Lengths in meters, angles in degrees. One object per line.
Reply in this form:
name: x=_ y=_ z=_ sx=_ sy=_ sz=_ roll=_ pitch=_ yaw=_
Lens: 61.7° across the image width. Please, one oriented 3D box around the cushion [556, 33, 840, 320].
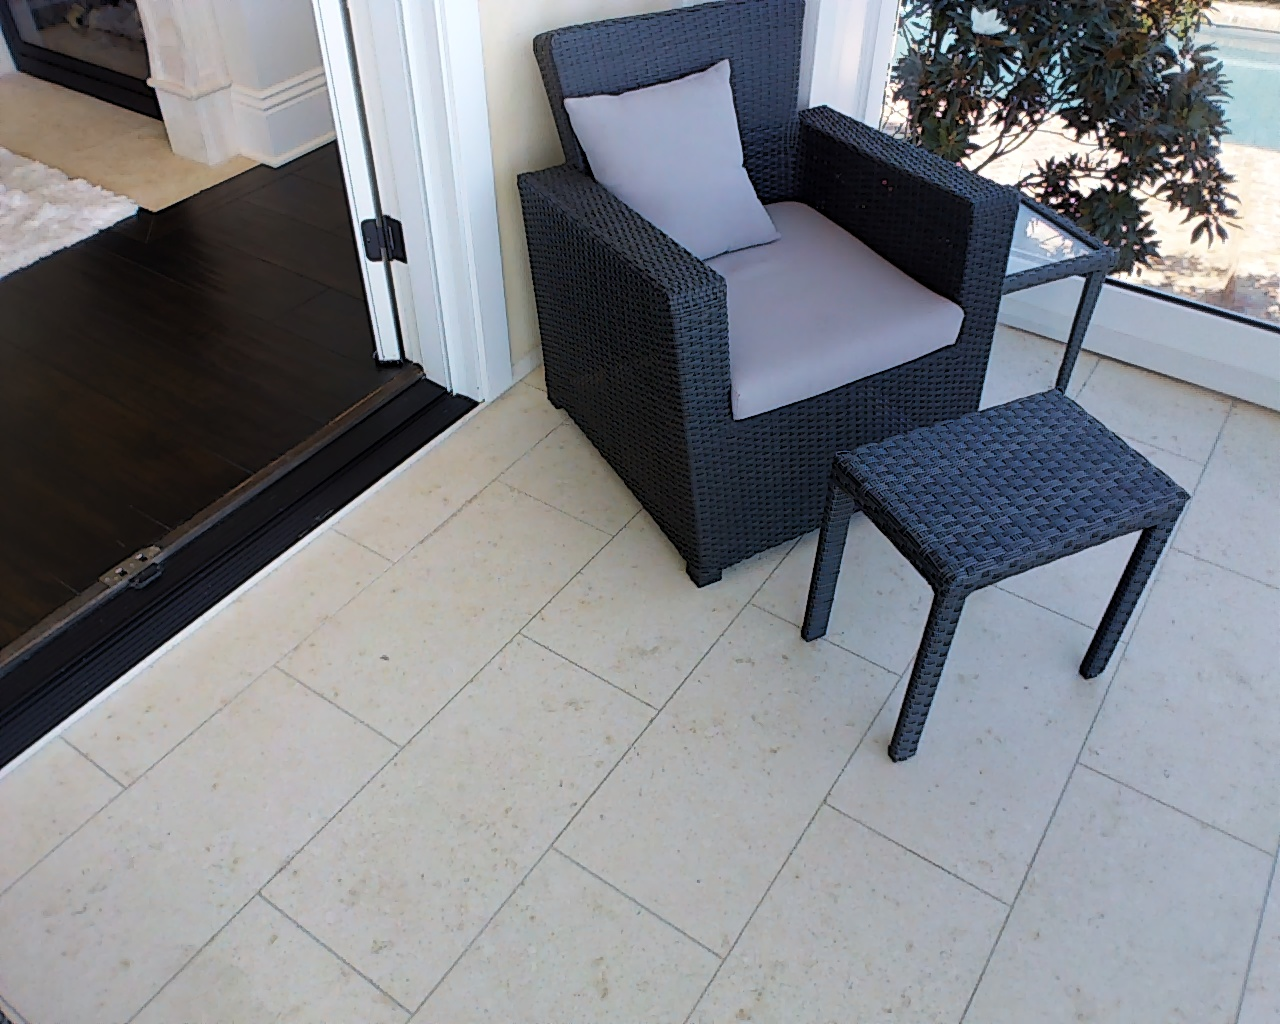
cushion: x=0.110 y=-0.650 z=2.120 sx=0.400 sy=0.450 sz=0.250 roll=-2 pitch=23 yaw=-38
